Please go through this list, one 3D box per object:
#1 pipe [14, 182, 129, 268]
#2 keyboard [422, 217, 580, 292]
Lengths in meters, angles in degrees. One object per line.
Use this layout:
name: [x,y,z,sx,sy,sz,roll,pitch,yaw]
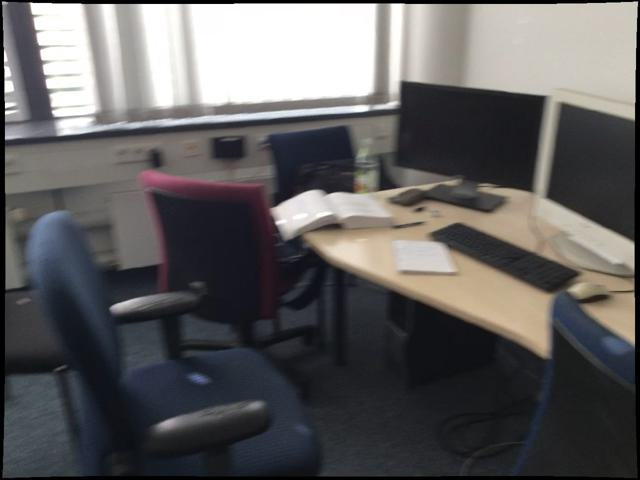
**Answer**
pipe: [-1.179,-0.080,2.760,0.450,0.280,0.210,-11,27,-24]
keyboard: [0.509,0.030,1.670,0.170,0.030,0.410,-19,31,-36]
